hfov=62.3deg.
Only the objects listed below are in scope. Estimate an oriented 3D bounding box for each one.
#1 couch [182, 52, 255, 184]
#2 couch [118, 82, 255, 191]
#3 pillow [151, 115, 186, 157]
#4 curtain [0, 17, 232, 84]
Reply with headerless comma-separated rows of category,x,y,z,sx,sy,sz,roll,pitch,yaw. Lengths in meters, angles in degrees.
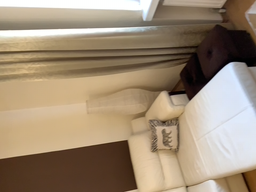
couch,0.910,0.200,1.720,0.740,0.420,0.810,116,145,-59
couch,0.660,1.240,2.080,0.940,0.870,2.580,116,145,-59
pillow,0.440,0.440,2.350,0.180,0.300,0.380,-74,-7,-80
curtain,-0.370,-0.400,1.910,0.540,2.660,0.260,119,142,-62
